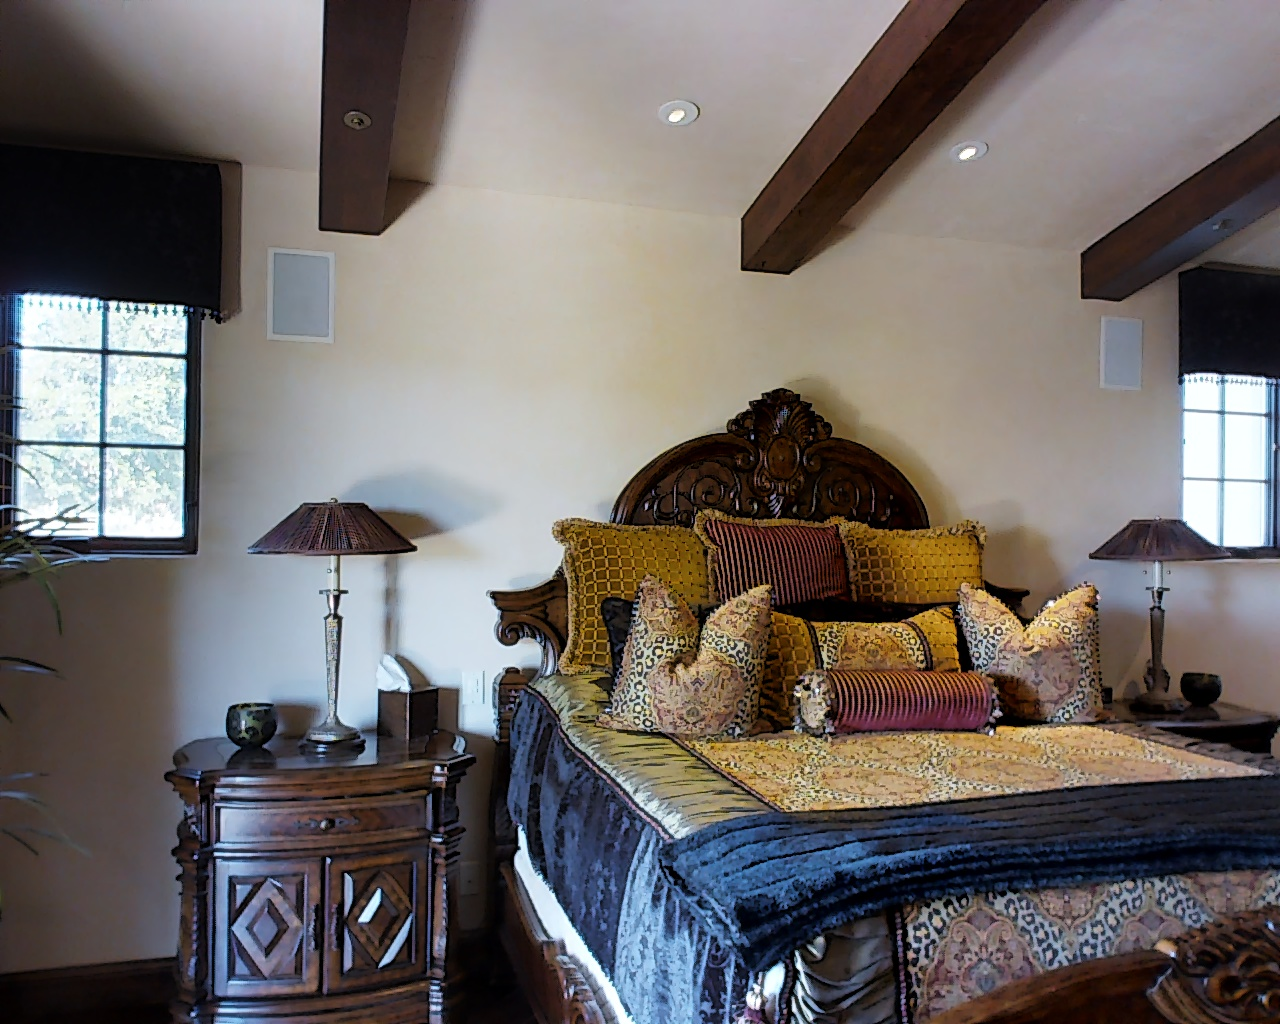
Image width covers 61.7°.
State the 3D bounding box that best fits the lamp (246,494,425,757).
[{"bbox_3d":[-0.950,0.330,3.390,0.500,0.760,0.490,1,0,-14],"label":"lamp"}]

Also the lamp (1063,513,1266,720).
[{"bbox_3d":[2.090,0.390,4.300,0.520,0.770,0.510,1,0,-17],"label":"lamp"}]
